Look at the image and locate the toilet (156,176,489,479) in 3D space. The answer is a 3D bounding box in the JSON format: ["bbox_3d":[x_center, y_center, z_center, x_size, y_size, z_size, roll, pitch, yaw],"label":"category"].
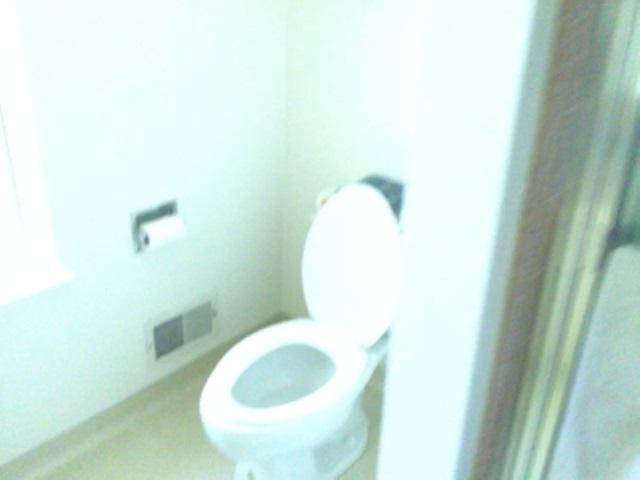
[{"bbox_3d":[0.040,0.330,1.620,0.460,0.770,0.750,21,33,36],"label":"toilet"}]
